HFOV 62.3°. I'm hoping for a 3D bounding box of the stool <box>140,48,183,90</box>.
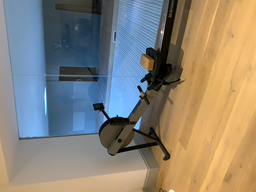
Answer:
[{"bbox_3d":[0.380,-0.320,2.490,0.310,0.330,0.390,-121,34,-56],"label":"stool"}]
